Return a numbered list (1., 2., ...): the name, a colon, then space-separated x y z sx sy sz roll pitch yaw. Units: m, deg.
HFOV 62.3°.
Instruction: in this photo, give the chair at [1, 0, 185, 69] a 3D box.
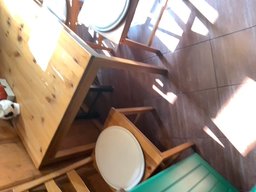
1. chair: -0.150 -0.530 1.270 0.460 0.910 0.460 -50 63 27
